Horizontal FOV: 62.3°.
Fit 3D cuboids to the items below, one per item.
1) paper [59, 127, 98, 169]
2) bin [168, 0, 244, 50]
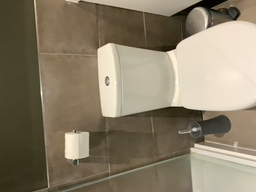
[{"bbox_3d":[-0.230,0.230,0.970,0.130,0.130,0.140,0,93,57],"label":"paper"},{"bbox_3d":[0.460,-0.410,1.280,0.310,0.290,0.190,0,93,58],"label":"bin"}]
